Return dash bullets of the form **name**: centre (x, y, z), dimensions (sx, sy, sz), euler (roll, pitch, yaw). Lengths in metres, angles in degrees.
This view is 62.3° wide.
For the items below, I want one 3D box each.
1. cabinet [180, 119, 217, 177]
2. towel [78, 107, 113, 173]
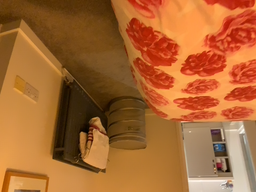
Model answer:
- **cabinet**: centre (1.050, 0.790, 3.240), dimensions (0.410, 0.810, 0.240), euler (-3, 155, 7)
- **towel**: centre (-0.290, 0.460, 2.080), dimensions (0.150, 0.510, 0.580), euler (-3, 155, 7)
